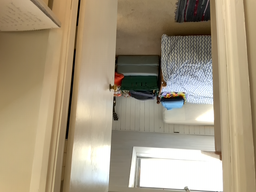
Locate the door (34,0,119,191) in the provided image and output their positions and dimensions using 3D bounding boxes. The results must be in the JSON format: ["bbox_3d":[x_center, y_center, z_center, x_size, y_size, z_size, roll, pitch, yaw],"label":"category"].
[{"bbox_3d":[-0.200,-0.250,1.260,0.090,1.680,0.820,0,169,9],"label":"door"}]
